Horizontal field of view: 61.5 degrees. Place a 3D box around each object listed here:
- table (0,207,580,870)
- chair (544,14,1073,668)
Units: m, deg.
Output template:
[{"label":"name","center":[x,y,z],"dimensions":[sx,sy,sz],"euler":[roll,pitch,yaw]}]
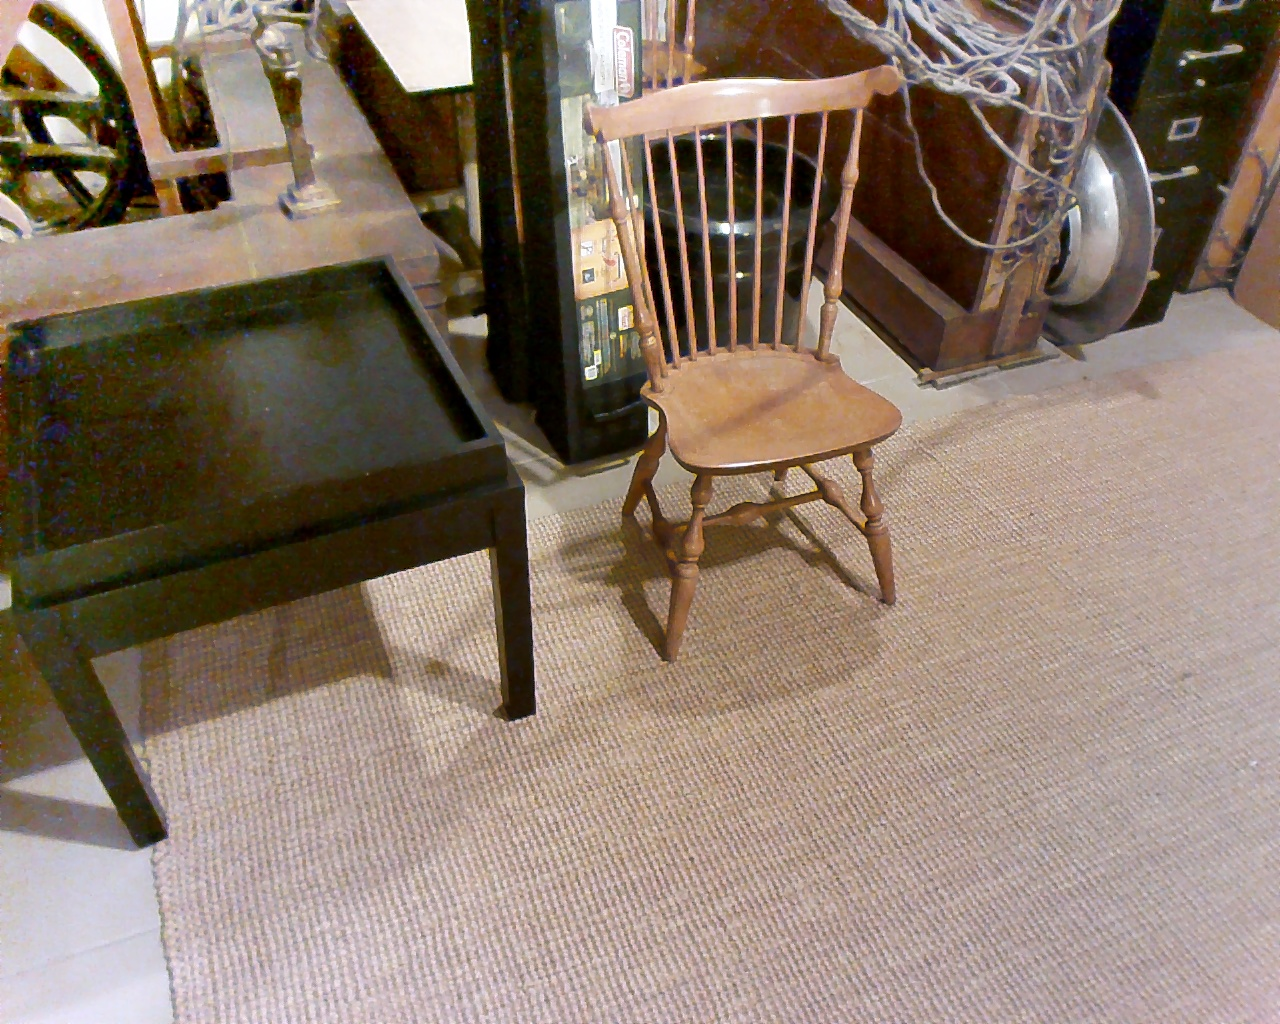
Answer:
[{"label":"table","center":[-0.670,-0.020,1.940],"dimensions":[0.870,0.610,0.840],"euler":[-15,44,-17]},{"label":"chair","center":[0.230,-0.310,2.020],"dimensions":[0.650,0.970,0.570],"euler":[-12,43,-14]}]
